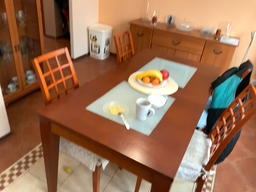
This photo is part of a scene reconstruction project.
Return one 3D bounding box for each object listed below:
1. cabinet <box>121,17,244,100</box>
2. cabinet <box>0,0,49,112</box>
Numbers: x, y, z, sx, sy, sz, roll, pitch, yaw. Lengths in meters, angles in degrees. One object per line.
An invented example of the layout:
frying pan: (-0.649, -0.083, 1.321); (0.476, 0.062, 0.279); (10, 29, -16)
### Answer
cabinet: (0.760, -0.630, 3.310); (1.660, 0.790, 0.450); (20, 33, 20)
cabinet: (-1.350, -0.520, 2.250); (0.330, 1.230, 0.890); (19, 33, 19)
